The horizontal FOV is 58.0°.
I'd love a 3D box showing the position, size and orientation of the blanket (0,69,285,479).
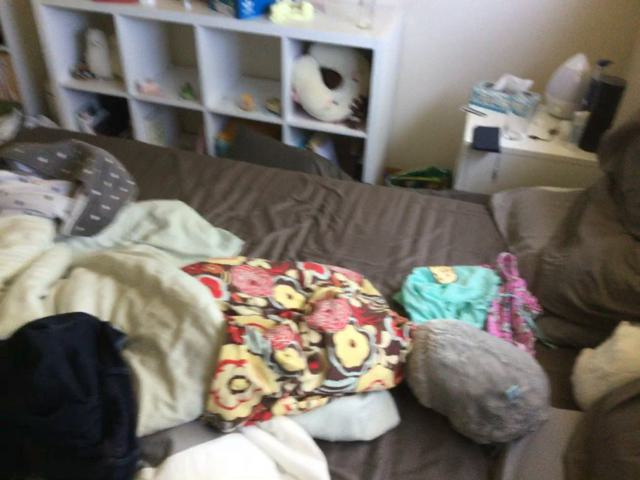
[{"bbox_3d":[-0.690,0.060,1.230,0.900,0.300,1.280,10,38,10],"label":"blanket"}]
